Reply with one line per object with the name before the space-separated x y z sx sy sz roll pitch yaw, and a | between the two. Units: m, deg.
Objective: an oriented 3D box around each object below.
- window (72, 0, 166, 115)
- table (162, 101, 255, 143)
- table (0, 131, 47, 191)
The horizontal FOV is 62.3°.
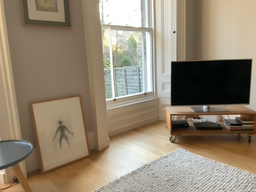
window | -0.050 -0.960 3.000 1.350 2.170 0.410 -12 14 -41
table | 1.010 0.310 2.700 1.070 0.370 0.480 -2 11 0
table | -0.920 0.570 1.460 0.510 0.420 0.510 -12 14 -41
